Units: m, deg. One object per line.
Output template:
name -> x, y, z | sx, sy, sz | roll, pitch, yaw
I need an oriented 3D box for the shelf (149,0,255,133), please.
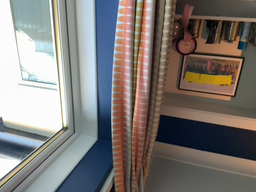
shelf -> 0.650, -0.770, 1.260 | 0.860, 2.020, 0.260 | 9, -156, 14
